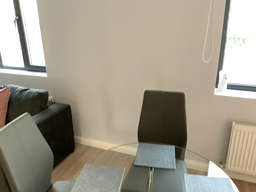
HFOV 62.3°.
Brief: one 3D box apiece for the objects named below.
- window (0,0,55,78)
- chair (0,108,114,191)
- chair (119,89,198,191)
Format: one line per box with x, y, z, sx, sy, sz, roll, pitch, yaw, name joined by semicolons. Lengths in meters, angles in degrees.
-1.570;-1.030;2.940;1.050;1.490;0.090;7;22;21;window
-0.430;0.650;1.360;0.590;1.010;0.520;1;20;5;chair
0.240;0.530;1.660;0.450;1.020;0.600;3;21;12;chair
